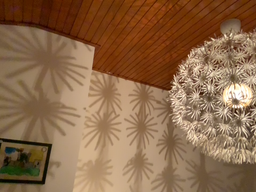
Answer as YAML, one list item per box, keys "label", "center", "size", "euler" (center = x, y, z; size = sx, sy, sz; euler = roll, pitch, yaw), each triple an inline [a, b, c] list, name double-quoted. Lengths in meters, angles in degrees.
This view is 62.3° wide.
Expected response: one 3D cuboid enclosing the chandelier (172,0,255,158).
- label: "chandelier"
  center: [0.740, -0.150, 1.540]
  size: [0.770, 1.080, 0.810]
  euler: [-1, 160, 15]
